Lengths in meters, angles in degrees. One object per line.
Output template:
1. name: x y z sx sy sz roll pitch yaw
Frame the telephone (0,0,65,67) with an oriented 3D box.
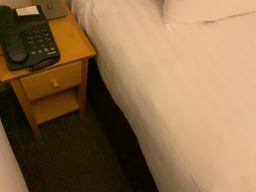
1. telephone: -0.340 -0.220 0.700 0.190 0.070 0.210 -21 66 -24
